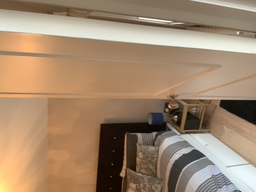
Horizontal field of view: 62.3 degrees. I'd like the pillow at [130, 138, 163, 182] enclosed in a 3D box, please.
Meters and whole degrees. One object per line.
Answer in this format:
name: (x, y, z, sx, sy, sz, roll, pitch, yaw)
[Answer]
pillow: (0.240, 0.790, 2.640, 0.150, 0.290, 0.430, 16, 136, 49)
